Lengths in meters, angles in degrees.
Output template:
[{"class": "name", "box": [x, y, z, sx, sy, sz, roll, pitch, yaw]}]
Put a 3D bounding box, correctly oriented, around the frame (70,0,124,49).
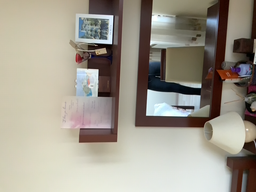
[{"class": "frame", "box": [-0.150, -0.350, 1.030, 0.150, 0.240, 0.200, -160, 71, -80]}]
